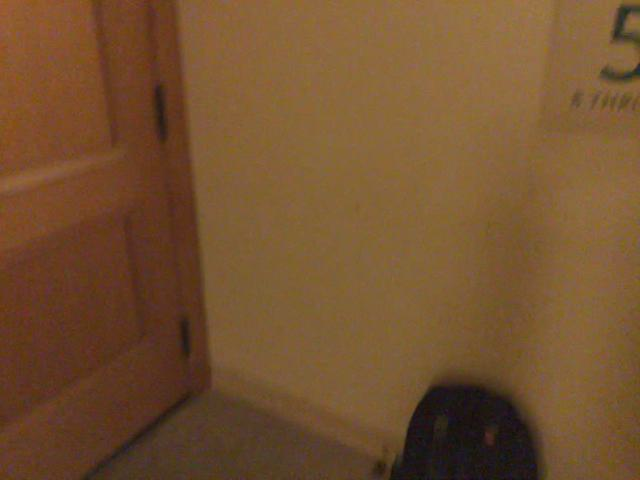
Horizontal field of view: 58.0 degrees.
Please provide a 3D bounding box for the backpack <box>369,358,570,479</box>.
[{"bbox_3d":[0.380,0.630,1.530,0.400,0.400,0.340,16,29,25],"label":"backpack"}]
